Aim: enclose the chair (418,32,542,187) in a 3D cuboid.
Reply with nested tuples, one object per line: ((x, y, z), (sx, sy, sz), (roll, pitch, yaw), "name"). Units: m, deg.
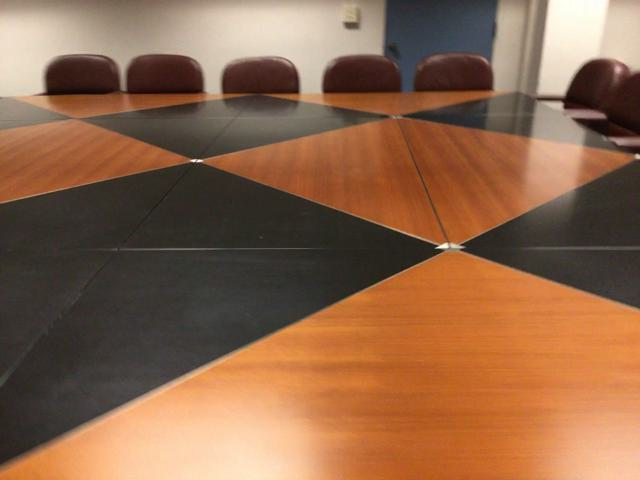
((1.090, -0.950, 4.140), (0.680, 0.970, 0.660), (-1, 22, 4), "chair")

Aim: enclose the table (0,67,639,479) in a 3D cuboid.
((-0.370, -0.350, 2.400), (3.590, 0.250, 3.680), (1, 23, 8), "table")

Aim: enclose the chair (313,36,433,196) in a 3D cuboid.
((0.380, -0.880, 4.050), (0.740, 0.980, 0.650), (1, 22, 7), "chair")
